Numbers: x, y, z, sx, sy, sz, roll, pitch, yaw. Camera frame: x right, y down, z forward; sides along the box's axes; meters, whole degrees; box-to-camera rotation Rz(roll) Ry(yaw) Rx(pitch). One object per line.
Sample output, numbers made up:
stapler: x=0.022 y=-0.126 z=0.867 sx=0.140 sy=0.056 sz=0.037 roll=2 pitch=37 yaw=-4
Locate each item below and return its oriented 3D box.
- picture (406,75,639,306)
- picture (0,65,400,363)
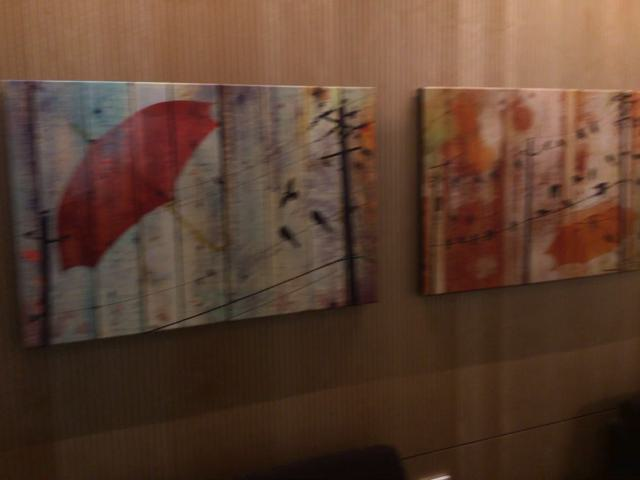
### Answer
picture: x=0.780 y=-0.180 z=1.910 sx=1.050 sy=0.680 sz=0.070 roll=-4 pitch=5 yaw=-19
picture: x=-0.270 y=-0.090 z=1.530 sx=1.000 sy=0.680 sz=0.100 roll=-4 pitch=5 yaw=-19
